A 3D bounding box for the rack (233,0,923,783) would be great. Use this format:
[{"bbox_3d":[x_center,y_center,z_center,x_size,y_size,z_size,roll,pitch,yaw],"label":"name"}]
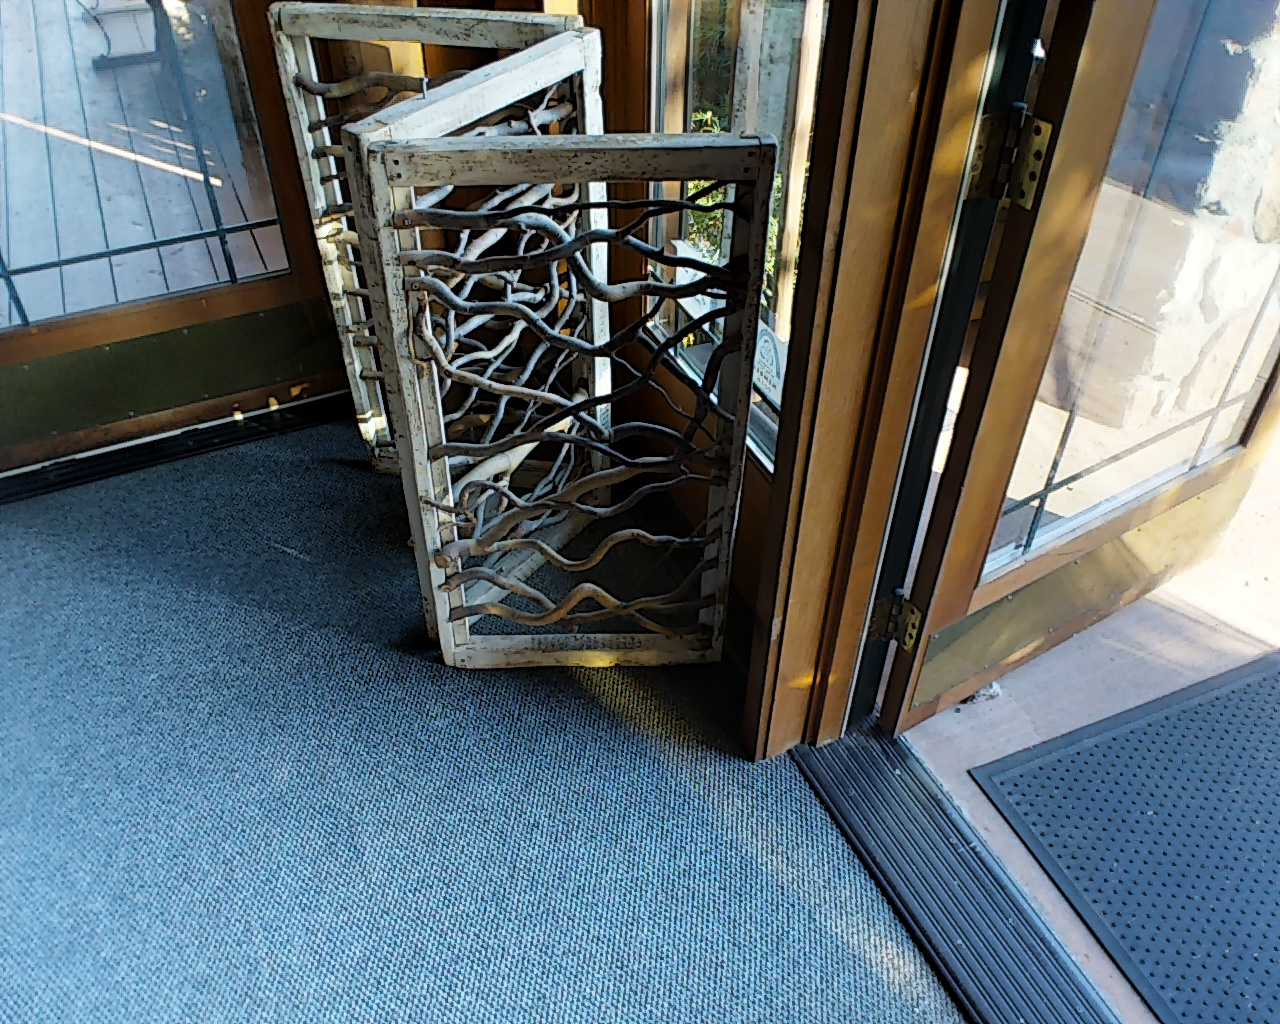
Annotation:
[{"bbox_3d":[-0.200,-0.370,1.960,0.690,1.100,1.090,-16,44,-19],"label":"rack"}]
